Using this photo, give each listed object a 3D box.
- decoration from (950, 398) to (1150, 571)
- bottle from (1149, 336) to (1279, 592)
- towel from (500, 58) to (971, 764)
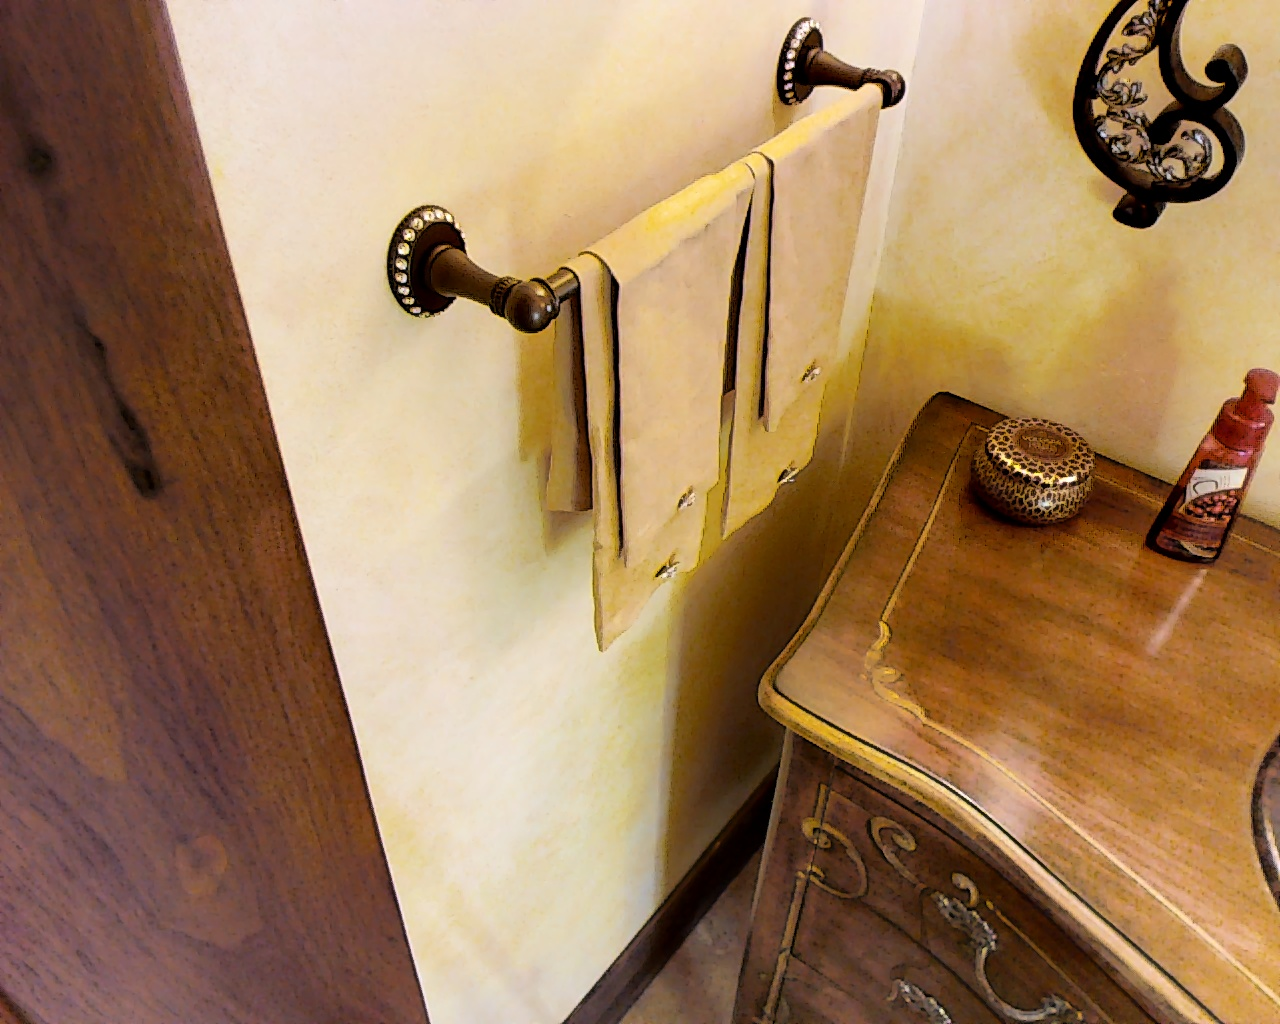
[{"bbox_3d":[0.390,-0.030,1.020,0.140,0.060,0.130,22,46,22],"label":"decoration"},{"bbox_3d":[0.530,-0.040,0.940,0.070,0.190,0.100,29,48,28],"label":"bottle"},{"bbox_3d":[0.080,-0.080,0.820,0.090,0.400,0.400,28,48,28],"label":"towel"}]
